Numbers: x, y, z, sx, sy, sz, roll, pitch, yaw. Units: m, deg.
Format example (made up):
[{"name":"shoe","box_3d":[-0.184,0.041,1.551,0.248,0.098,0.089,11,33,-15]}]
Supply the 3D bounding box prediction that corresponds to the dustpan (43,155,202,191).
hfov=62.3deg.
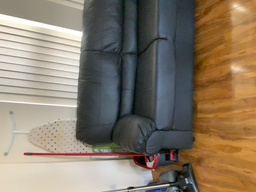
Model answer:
[{"name":"dustpan","box_3d":[-0.060,0.880,1.820,0.690,1.180,0.480,-53,39,46]}]

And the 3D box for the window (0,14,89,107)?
[{"name":"window","box_3d":[-1.040,-0.360,2.190,0.030,1.230,0.860,-13,73,63]}]

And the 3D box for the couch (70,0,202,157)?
[{"name":"couch","box_3d":[0.050,-0.470,2.160,0.950,0.910,1.940,-10,75,63]}]
